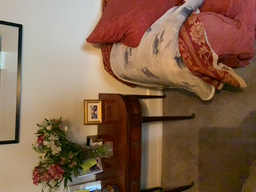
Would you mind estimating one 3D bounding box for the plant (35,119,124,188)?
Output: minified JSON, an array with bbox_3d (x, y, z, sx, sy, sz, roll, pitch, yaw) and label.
[{"bbox_3d":[-0.350,0.360,1.510,0.400,0.500,0.330,1,90,57],"label":"plant"}]
